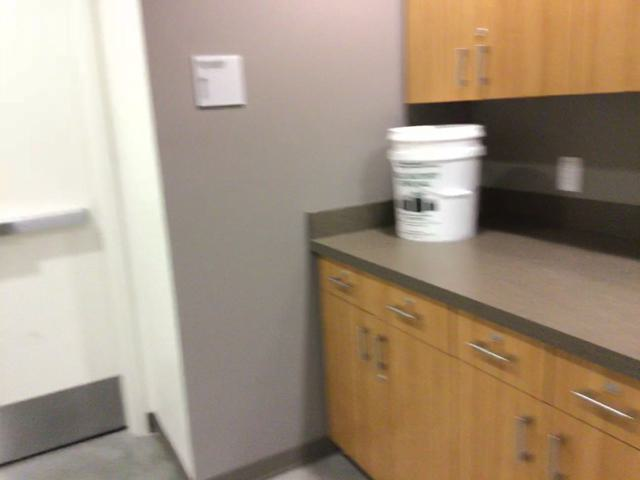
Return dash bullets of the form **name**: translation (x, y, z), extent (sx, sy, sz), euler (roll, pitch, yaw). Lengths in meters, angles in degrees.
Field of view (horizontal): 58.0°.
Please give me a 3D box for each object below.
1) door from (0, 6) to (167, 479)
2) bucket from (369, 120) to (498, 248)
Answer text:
- **door**: translation (-1.570, 0.130, 2.020), extent (1.830, 1.780, 0.380), euler (-8, 16, -27)
- **bucket**: translation (0.380, -0.210, 2.000), extent (0.280, 0.380, 0.330), euler (-8, 16, -27)
